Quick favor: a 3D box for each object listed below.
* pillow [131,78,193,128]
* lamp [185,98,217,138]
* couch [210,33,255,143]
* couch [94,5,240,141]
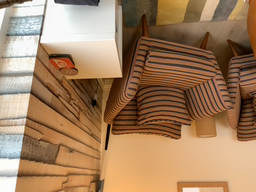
[{"bbox_3d":[0.280,0.060,1.790,0.470,0.310,0.150,11,146,-9],"label":"pillow"},{"bbox_3d":[0.750,0.240,2.220,0.210,0.350,0.310,-1,160,3],"label":"lamp"},{"bbox_3d":[1.300,-0.040,1.970,0.870,0.790,0.820,-8,158,21],"label":"couch"},{"bbox_3d":[0.240,-0.080,1.850,0.860,0.790,0.820,8,158,-21],"label":"couch"}]
